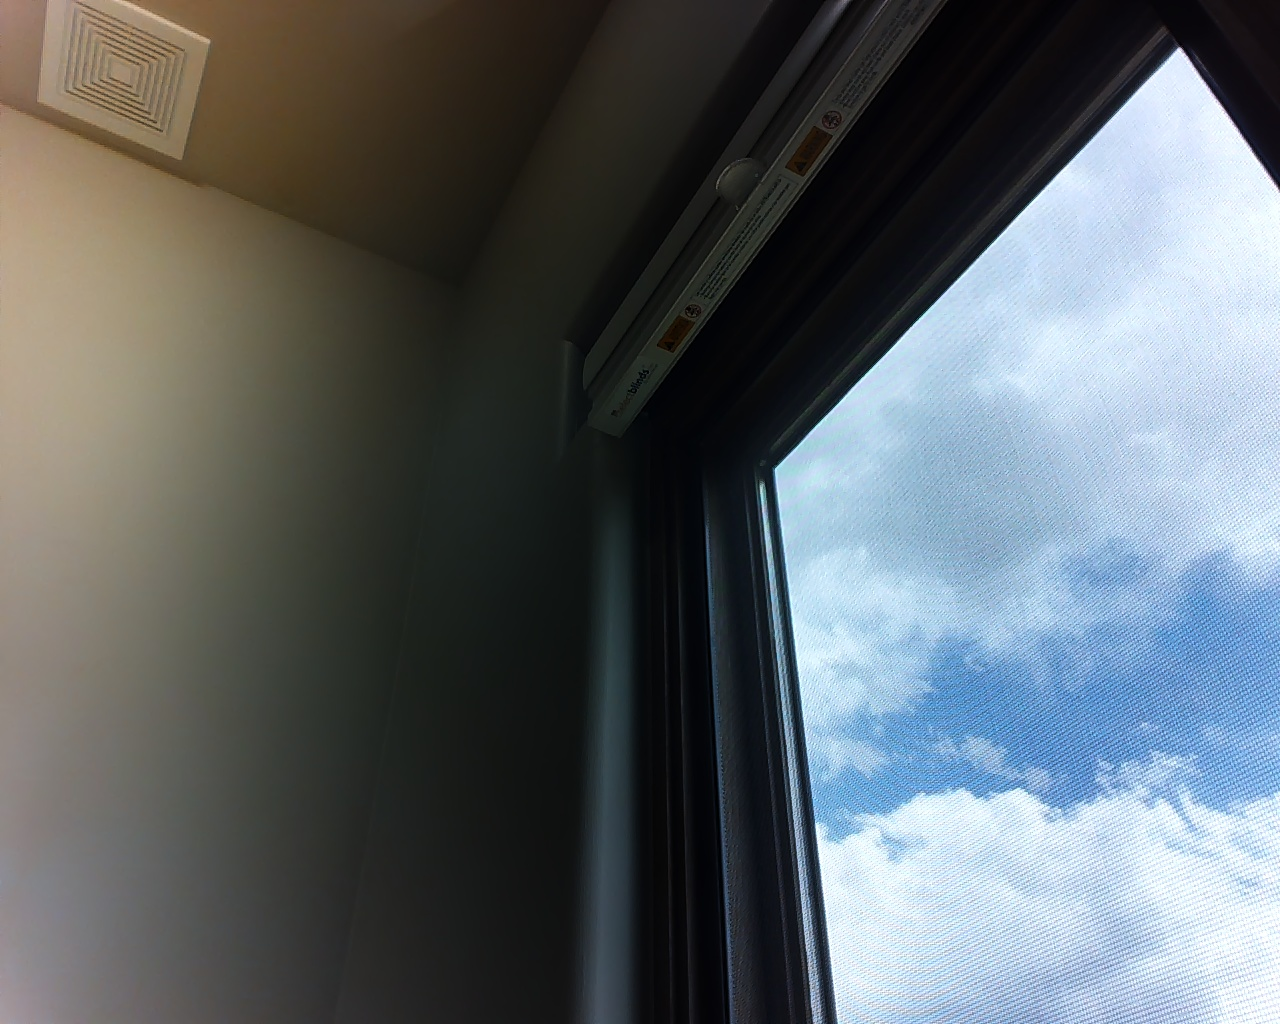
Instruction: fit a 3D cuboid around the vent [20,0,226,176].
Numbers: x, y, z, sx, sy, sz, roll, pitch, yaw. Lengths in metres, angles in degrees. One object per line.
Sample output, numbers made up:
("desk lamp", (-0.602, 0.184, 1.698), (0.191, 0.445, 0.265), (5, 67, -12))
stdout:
("vent", (-0.800, -0.670, 1.650), (0.260, 0.020, 0.230), (20, -45, -22))
